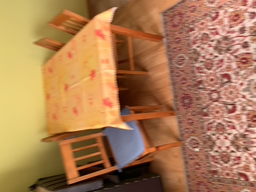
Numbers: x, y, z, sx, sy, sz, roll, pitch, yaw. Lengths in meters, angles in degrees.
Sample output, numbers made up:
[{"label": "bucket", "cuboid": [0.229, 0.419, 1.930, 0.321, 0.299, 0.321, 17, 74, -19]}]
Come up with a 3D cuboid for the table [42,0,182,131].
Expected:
[{"label": "table", "cuboid": [-0.250, -0.150, 2.080, 1.210, 0.740, 0.860, -14, 81, 51]}]

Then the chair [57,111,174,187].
[{"label": "chair", "cuboid": [-0.090, 0.420, 1.820, 0.410, 0.850, 0.370, -44, 59, 43]}]
